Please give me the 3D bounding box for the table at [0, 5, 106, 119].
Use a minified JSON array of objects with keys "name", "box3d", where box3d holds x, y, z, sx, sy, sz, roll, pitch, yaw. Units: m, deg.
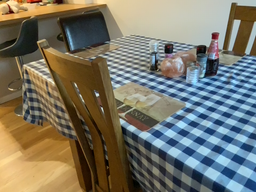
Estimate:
[{"name":"table","box3d":[-1.240,-0.580,2.740,1.020,0.910,1.530,23,38,38]}]
